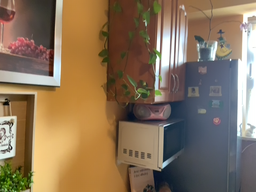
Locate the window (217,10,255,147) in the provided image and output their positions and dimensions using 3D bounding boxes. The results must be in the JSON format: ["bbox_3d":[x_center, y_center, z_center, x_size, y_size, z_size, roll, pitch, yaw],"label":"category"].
[{"bbox_3d":[1.340,-0.140,1.780,1.040,1.180,0.180,3,1,30],"label":"window"}]

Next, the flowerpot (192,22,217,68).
[{"bbox_3d":[0.630,-0.410,1.740,0.150,0.330,0.160,3,1,33],"label":"flowerpot"}]

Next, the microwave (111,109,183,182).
[{"bbox_3d":[0.150,0.280,1.410,0.280,0.340,0.510,3,1,29],"label":"microwave"}]
